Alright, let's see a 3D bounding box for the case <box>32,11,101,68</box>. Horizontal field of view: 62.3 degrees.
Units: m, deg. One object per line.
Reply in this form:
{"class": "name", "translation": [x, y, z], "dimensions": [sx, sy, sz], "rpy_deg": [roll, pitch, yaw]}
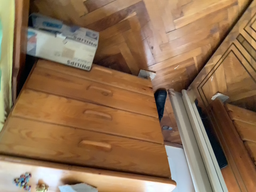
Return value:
{"class": "case", "translation": [-0.280, -0.260, 0.990], "dimensions": [0.270, 0.150, 0.140], "rpy_deg": [12, 131, -14]}
